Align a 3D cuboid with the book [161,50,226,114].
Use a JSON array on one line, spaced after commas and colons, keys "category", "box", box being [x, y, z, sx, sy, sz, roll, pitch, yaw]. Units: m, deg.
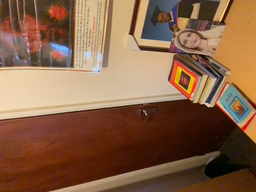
[{"category": "book", "box": [0.290, -0.070, 0.990, 0.190, 0.140, 0.220, -119, 32, -42]}]
